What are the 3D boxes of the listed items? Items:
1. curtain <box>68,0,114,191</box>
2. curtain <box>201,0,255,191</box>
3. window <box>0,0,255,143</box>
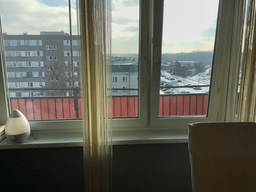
[{"bbox_3d":[-0.270,-0.030,1.670,0.290,2.470,0.280,-1,11,-7],"label":"curtain"},{"bbox_3d":[0.940,-0.040,1.790,0.410,2.380,0.280,0,11,0],"label":"curtain"},{"bbox_3d":[0.200,-0.350,1.850,2.850,1.500,0.160,0,11,-2],"label":"window"}]
